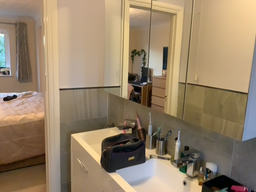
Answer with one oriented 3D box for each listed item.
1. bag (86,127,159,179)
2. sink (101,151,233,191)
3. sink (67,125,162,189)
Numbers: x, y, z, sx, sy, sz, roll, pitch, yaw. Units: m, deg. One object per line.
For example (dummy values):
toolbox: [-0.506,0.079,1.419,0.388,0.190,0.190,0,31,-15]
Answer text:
bag: [-0.040,0.320,1.290,0.320,0.130,0.310,-5,13,-35]
sink: [0.200,0.510,1.080,0.450,0.140,0.600,-5,12,-33]
sink: [-0.130,0.400,1.580,0.450,0.140,0.620,-5,12,-33]
